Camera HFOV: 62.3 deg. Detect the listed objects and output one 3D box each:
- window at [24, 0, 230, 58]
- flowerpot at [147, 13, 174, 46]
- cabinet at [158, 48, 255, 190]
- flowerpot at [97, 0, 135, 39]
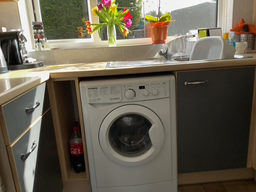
[{"bbox_3d":[0.000,-0.890,1.880,1.760,0.970,0.180,-4,15,-1],"label":"window"},{"bbox_3d":[0.280,-0.580,1.890,0.210,0.250,0.270,-3,15,4],"label":"flowerpot"},{"bbox_3d":[0.550,0.120,1.670,0.490,0.920,0.610,-4,15,-3],"label":"cabinet"},{"bbox_3d":[-0.100,-0.710,1.800,0.280,0.420,0.270,-4,15,-2],"label":"flowerpot"}]
